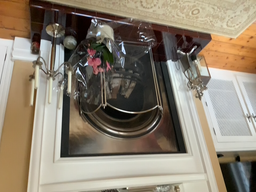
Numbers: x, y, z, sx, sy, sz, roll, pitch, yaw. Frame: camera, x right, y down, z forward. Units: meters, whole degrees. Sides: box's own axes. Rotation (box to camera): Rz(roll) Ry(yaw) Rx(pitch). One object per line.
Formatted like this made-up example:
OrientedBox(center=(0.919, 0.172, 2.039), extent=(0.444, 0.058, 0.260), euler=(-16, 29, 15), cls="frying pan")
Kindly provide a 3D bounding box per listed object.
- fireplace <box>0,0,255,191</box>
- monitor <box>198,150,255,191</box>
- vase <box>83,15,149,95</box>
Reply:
OrientedBox(center=(0.040, 0.230, 1.600), extent=(1.570, 1.630, 0.620), euler=(4, 153, -21), cls="fireplace")
OrientedBox(center=(1.350, 0.940, 2.210), extent=(1.180, 0.720, 0.060), euler=(2, 153, -16), cls="monitor")
OrientedBox(center=(-0.130, -0.310, 1.730), extent=(0.410, 0.470, 0.380), euler=(3, 153, -20), cls="vase")
